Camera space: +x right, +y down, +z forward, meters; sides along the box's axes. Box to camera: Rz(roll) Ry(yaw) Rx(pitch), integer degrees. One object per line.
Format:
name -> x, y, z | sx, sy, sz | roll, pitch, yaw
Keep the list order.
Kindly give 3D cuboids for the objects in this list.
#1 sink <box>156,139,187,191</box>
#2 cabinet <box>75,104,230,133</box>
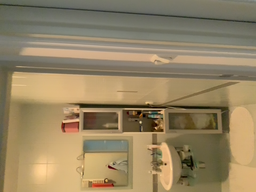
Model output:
sink -> 0.500, 0.810, 2.520 | 0.470, 0.220, 0.540 | 137, 134, -80
cabinet -> 0.310, 0.290, 2.640 | 0.310, 1.840, 0.320 | 137, 134, -80
